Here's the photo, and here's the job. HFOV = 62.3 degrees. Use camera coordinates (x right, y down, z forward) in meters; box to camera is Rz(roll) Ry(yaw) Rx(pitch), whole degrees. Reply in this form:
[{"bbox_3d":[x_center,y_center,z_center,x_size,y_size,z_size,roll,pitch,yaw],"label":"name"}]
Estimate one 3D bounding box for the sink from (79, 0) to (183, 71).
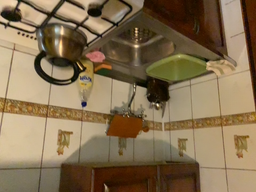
[{"bbox_3d":[0.010,-0.340,1.220,0.390,0.190,0.440,14,161,-40],"label":"sink"}]
